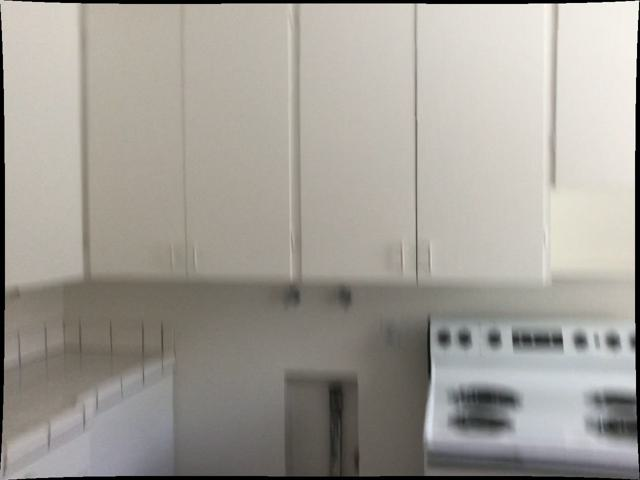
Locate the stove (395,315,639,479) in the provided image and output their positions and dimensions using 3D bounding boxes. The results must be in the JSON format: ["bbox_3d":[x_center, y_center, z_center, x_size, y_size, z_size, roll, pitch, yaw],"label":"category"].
[{"bbox_3d":[0.719,0.871,1.830,0.859,1.132,0.770,-2,3,12],"label":"stove"}]

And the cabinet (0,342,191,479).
[{"bbox_3d":[-1.008,0.982,1.900,0.609,0.972,1.360,-2,3,13],"label":"cabinet"}]
